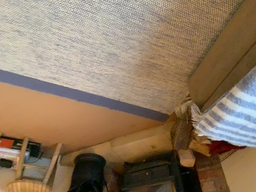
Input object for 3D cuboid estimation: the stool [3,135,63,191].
[{"bbox_3d":[-0.800,0.630,1.830,0.350,0.420,0.320,14,133,-15],"label":"stool"}]
